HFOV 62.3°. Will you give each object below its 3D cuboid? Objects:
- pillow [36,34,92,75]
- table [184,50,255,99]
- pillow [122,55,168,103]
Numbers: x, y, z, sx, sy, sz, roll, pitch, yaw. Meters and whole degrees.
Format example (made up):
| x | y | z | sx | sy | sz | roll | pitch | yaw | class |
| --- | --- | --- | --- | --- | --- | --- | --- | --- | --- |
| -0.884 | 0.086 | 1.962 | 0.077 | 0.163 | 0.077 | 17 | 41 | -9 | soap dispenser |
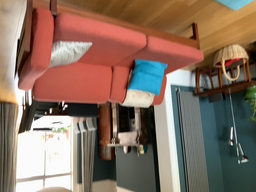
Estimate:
| x | y | z | sx | sy | sz | roll | pitch | yaw | class |
| --- | --- | --- | --- | --- | --- | --- | --- | --- | --- |
| -0.530 | -0.320 | 1.740 | 0.360 | 0.160 | 0.350 | 4 | 167 | -32 | pillow |
| 1.570 | -0.300 | 3.560 | 0.600 | 0.510 | 1.030 | 4 | 167 | -32 | table |
| 0.200 | -0.190 | 2.310 | 0.430 | 0.340 | 0.120 | -40 | -166 | -33 | pillow |
